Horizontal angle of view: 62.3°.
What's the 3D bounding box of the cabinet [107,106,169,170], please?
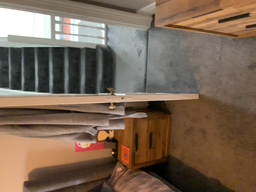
[{"bbox_3d":[0.090,0.410,2.290,0.480,0.460,0.510,11,101,59],"label":"cabinet"}]
